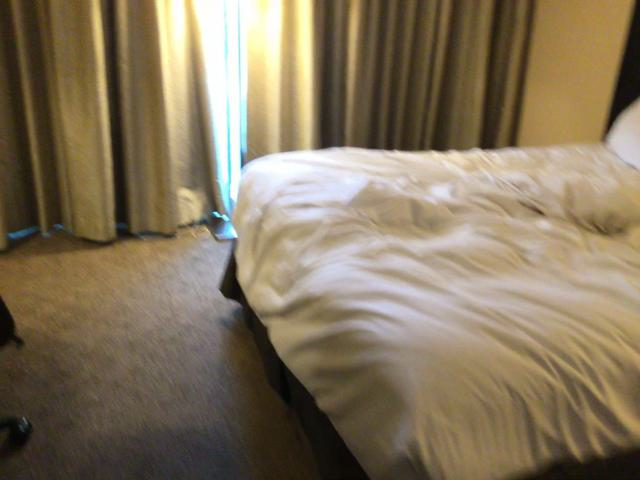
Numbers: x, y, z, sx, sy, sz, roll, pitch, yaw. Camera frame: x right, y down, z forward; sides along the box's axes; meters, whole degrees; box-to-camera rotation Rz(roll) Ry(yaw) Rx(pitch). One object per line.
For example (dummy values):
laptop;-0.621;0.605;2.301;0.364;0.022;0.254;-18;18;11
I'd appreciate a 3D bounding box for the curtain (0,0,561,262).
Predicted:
curtain;-0.380;-1.020;3.010;3.630;2.090;0.340;-5;25;-20

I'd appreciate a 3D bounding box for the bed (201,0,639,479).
bed;0.840;-0.210;1.940;2.140;1.590;1.830;-5;25;-20
